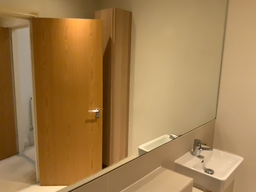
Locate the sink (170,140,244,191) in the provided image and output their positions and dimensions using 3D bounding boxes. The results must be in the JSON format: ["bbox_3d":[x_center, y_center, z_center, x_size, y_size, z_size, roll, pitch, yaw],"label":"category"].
[{"bbox_3d":[0.600,0.520,1.580,0.340,0.170,0.500,12,14,41],"label":"sink"}]
